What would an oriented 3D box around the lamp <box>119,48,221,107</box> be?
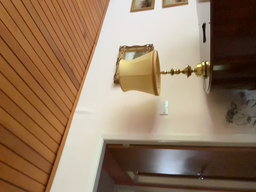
[{"bbox_3d":[0.390,-0.160,2.040,0.360,0.850,0.380,70,-158,-52],"label":"lamp"}]
